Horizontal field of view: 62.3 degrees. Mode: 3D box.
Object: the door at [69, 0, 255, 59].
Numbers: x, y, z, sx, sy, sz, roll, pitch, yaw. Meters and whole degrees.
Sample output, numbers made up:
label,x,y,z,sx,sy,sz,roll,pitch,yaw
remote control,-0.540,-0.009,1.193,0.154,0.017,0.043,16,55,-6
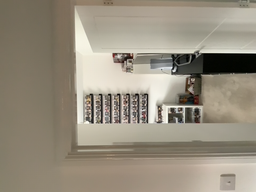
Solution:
label,x,y,z,sx,sy,sz,roll,pitch,yaw
door,0.640,-0.490,1.680,0.780,2.010,0.120,106,164,-80
